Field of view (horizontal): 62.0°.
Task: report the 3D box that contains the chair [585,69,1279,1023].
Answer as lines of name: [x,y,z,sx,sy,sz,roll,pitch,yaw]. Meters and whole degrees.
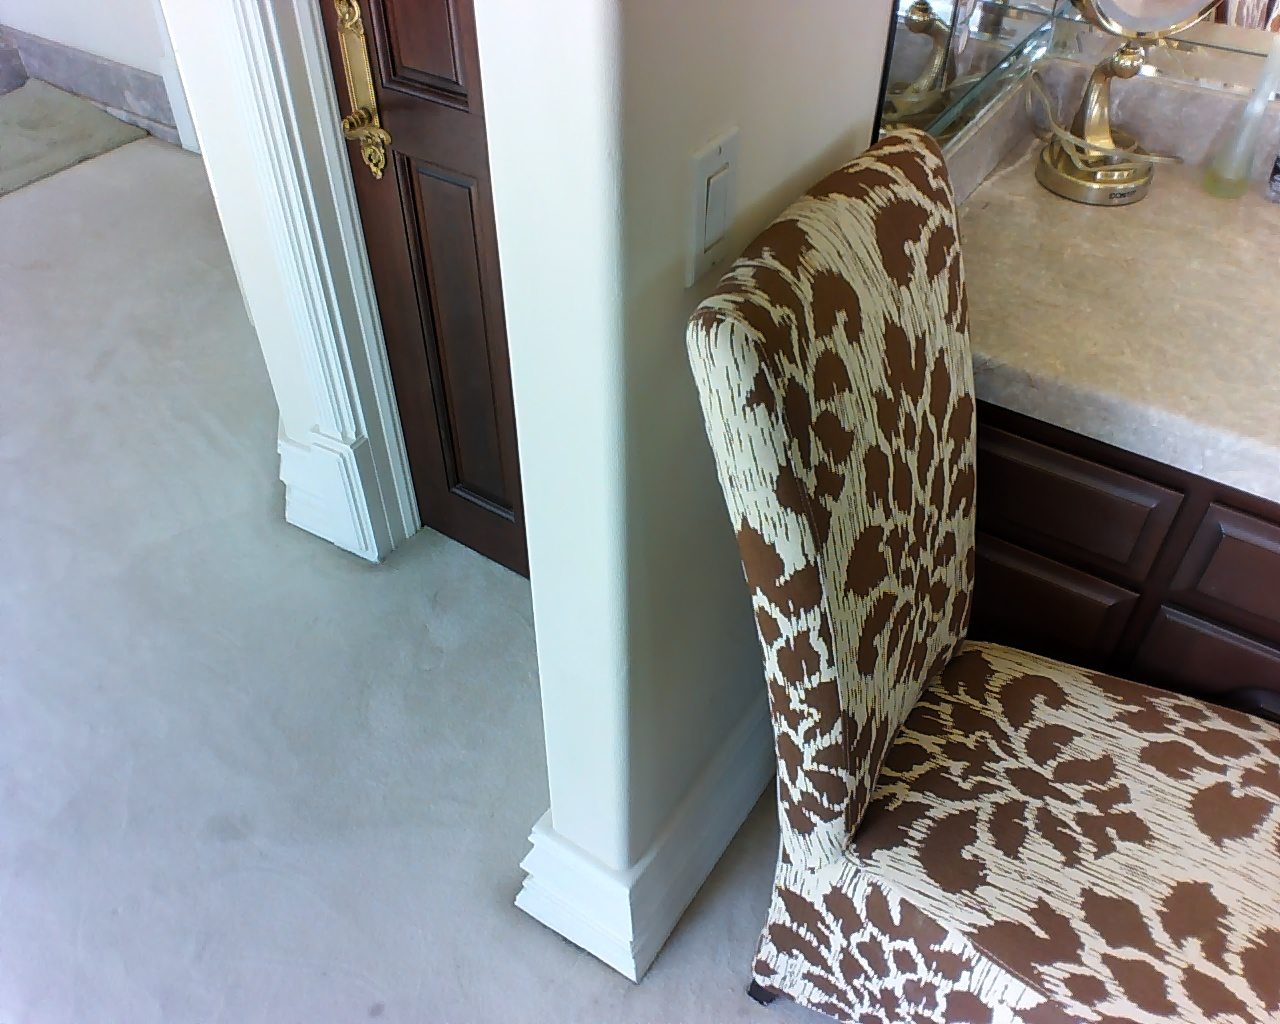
chair: [0.400,0.210,1.120,0.690,1.020,0.560,24,47,24]
